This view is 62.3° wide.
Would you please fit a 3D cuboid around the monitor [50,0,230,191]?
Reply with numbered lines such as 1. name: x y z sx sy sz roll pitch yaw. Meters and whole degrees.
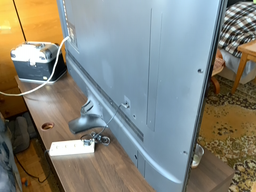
1. monitor: -0.150 -0.220 0.960 0.070 0.760 1.230 -19 38 -23
